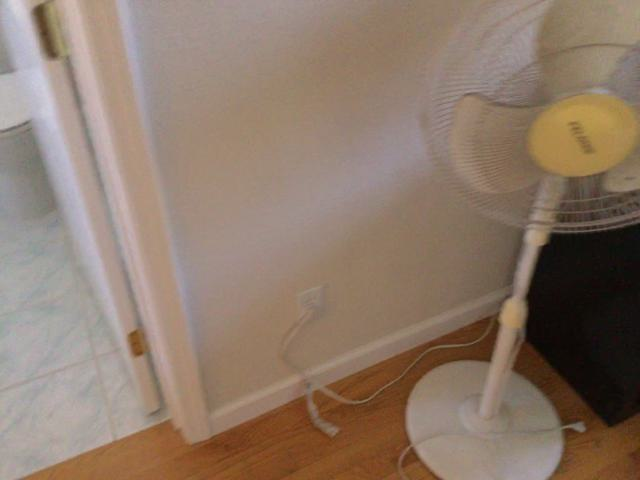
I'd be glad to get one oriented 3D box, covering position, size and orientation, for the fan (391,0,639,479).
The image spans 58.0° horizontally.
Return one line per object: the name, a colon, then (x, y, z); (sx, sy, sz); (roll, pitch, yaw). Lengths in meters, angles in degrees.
fan: (0.390, 0.050, 1.140); (0.470, 1.170, 0.470); (0, 38, 6)
